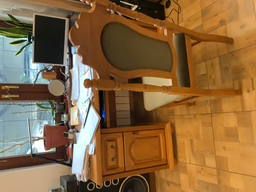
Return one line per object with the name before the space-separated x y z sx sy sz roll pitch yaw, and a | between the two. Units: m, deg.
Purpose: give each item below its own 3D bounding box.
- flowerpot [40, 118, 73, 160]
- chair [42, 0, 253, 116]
flowerpot | -0.700 0.400 2.060 0.220 0.260 0.360 -10 81 60
chair | 0.120 -0.160 1.300 0.570 1.120 0.470 -18 74 59
